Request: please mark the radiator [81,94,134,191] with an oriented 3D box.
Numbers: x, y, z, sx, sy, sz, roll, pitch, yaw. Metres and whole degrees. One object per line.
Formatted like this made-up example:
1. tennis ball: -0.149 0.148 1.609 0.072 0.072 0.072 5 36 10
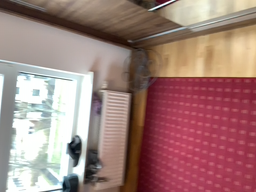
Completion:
1. radiator: -0.190 0.440 2.060 0.140 0.430 0.870 1 85 52
